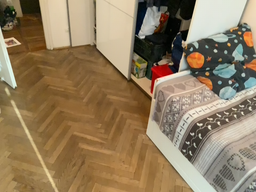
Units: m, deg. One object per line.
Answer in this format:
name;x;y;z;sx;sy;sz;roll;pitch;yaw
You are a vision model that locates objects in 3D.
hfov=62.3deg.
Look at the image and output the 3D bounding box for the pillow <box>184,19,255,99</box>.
pillow;0.810;-0.310;1.640;0.540;0.390;0.390;-17;43;-28
